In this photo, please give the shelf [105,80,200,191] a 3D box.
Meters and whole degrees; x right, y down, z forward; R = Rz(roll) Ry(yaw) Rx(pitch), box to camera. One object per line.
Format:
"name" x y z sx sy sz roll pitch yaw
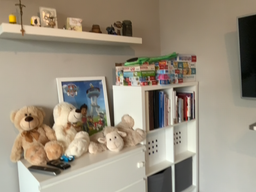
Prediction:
"shelf" 0.270 0.590 2.110 0.770 1.460 0.510 -7 8 -40
